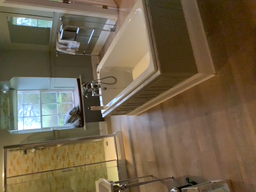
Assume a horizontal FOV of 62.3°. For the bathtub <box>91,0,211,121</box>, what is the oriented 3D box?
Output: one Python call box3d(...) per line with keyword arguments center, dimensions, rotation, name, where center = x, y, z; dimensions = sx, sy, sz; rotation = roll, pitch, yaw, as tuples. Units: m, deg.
box3d(center=(0.080, -0.350, 2.830), dimensions=(1.870, 0.620, 0.950), rotation=(141, 123, -61), name="bathtub")
